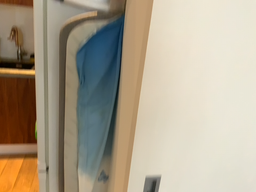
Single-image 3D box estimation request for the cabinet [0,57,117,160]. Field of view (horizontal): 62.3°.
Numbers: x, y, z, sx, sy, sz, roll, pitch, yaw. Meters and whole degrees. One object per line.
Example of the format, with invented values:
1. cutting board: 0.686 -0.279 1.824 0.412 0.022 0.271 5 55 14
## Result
1. cabinet: -0.940 0.120 2.330 1.470 0.900 0.620 2 20 -14
